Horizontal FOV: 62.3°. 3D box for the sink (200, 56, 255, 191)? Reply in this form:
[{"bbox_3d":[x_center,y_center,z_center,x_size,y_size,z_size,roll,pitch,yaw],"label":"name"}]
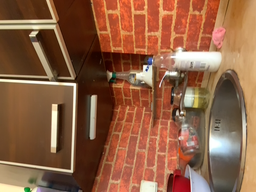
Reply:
[{"bbox_3d":[0.390,0.130,0.660,0.410,0.220,0.430,-7,-78,-80],"label":"sink"}]
